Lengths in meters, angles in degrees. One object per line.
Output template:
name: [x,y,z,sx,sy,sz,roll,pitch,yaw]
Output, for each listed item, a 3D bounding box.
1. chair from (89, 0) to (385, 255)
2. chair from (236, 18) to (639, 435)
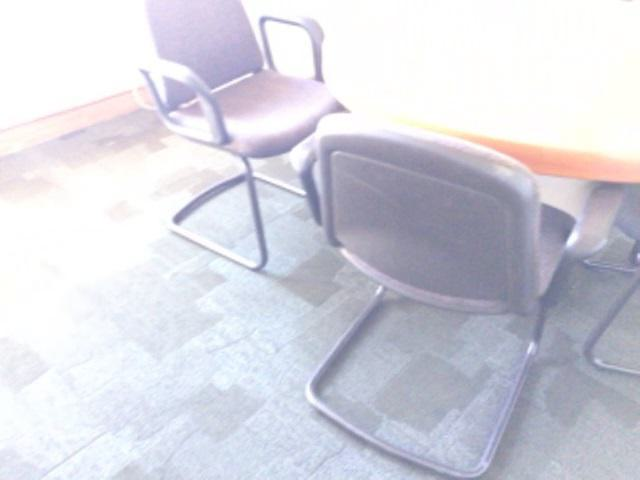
chair: [-0.210,-0.490,1.910,0.580,0.680,0.680,20,42,26]
chair: [0.270,-0.100,1.220,0.640,0.480,0.560,29,46,34]
